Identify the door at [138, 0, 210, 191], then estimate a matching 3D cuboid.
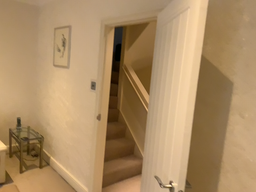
[{"bbox_3d":[0.190,0.380,1.350,0.050,1.950,0.800,4,8,-6],"label":"door"}]
